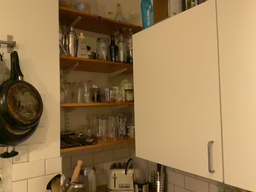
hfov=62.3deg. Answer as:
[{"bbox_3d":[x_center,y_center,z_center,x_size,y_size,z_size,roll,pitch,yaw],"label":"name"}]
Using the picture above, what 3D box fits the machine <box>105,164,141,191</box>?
[{"bbox_3d":[-0.040,0.690,1.800,0.270,0.170,0.150,-2,-2,11],"label":"machine"}]
